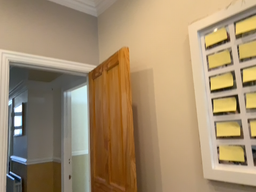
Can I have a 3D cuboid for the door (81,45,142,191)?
[{"bbox_3d":[-0.180,0.730,1.780,0.110,2.090,0.860,2,-10,-32],"label":"door"}]
